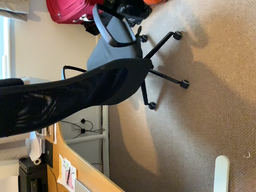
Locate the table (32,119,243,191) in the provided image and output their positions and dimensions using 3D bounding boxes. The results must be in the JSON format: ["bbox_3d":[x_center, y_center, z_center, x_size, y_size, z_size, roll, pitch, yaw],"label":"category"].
[{"bbox_3d":[-0.130,0.670,1.650,1.610,0.730,0.670,6,97,51],"label":"table"}]
